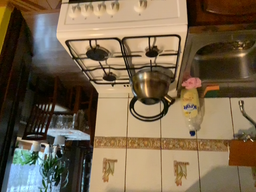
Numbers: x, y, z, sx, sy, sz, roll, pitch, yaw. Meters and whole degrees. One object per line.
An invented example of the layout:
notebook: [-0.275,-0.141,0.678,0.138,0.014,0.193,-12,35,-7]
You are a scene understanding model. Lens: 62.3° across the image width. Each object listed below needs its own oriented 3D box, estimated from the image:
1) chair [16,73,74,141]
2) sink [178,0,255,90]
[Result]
chair: [-1.270,0.190,3.360,0.520,0.950,0.510,-2,161,12]
sink: [0.460,-0.220,1.070,0.360,0.200,0.540,0,161,8]
